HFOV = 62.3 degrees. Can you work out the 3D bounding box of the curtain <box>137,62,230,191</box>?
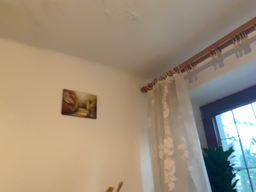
[{"bbox_3d":[0.340,0.340,1.550,0.350,1.030,0.510,2,-24,-13],"label":"curtain"}]
